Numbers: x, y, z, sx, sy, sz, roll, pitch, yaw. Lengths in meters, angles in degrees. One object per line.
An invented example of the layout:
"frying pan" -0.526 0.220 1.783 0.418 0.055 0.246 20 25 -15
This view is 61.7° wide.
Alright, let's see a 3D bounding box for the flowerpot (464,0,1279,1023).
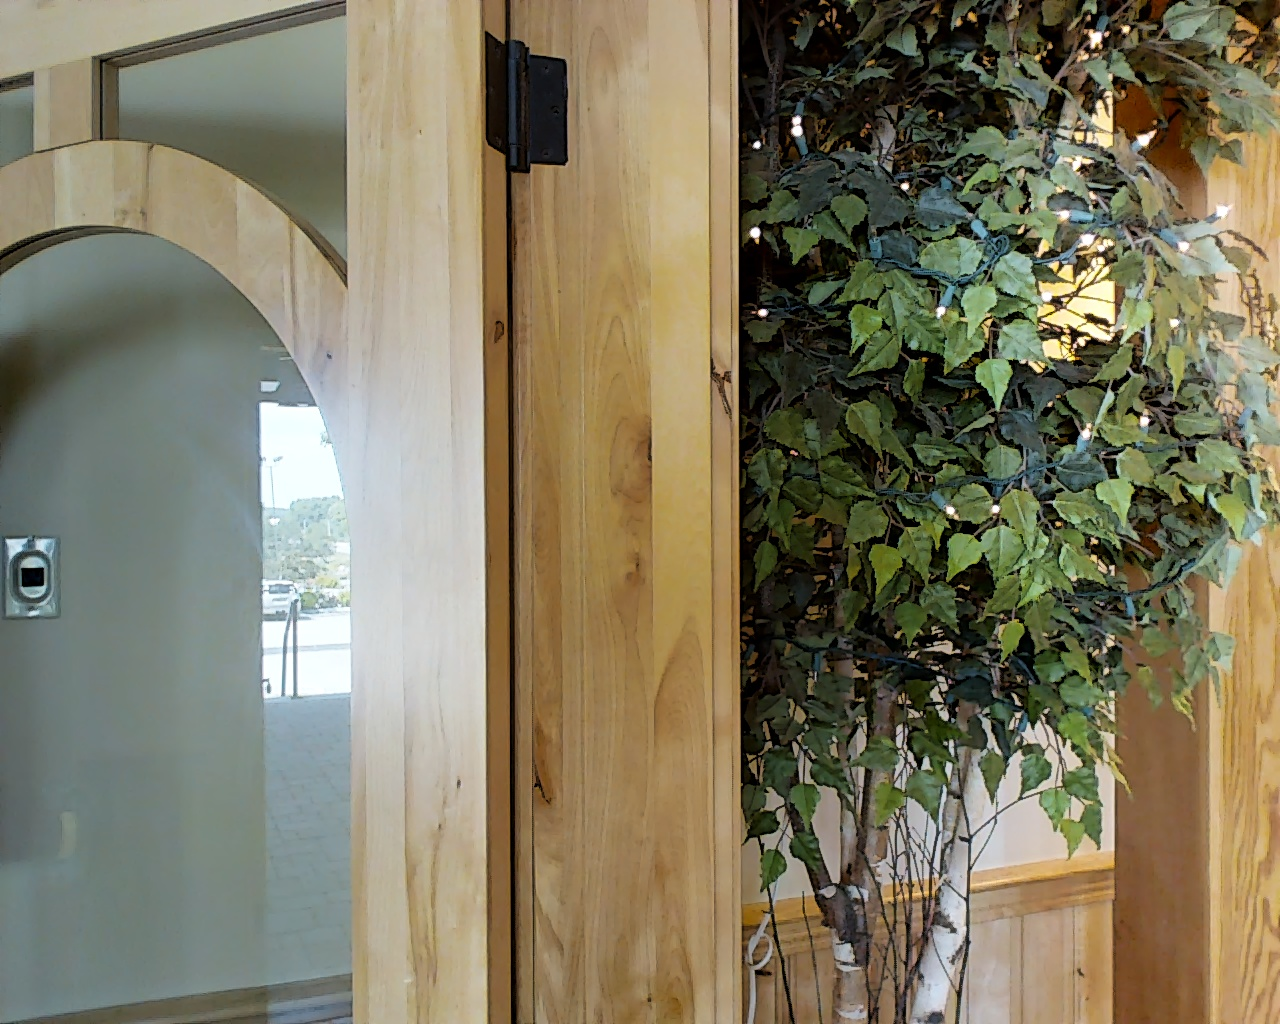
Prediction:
"flowerpot" 0.380 0.230 1.440 1.060 2.710 0.900 0 0 -21
